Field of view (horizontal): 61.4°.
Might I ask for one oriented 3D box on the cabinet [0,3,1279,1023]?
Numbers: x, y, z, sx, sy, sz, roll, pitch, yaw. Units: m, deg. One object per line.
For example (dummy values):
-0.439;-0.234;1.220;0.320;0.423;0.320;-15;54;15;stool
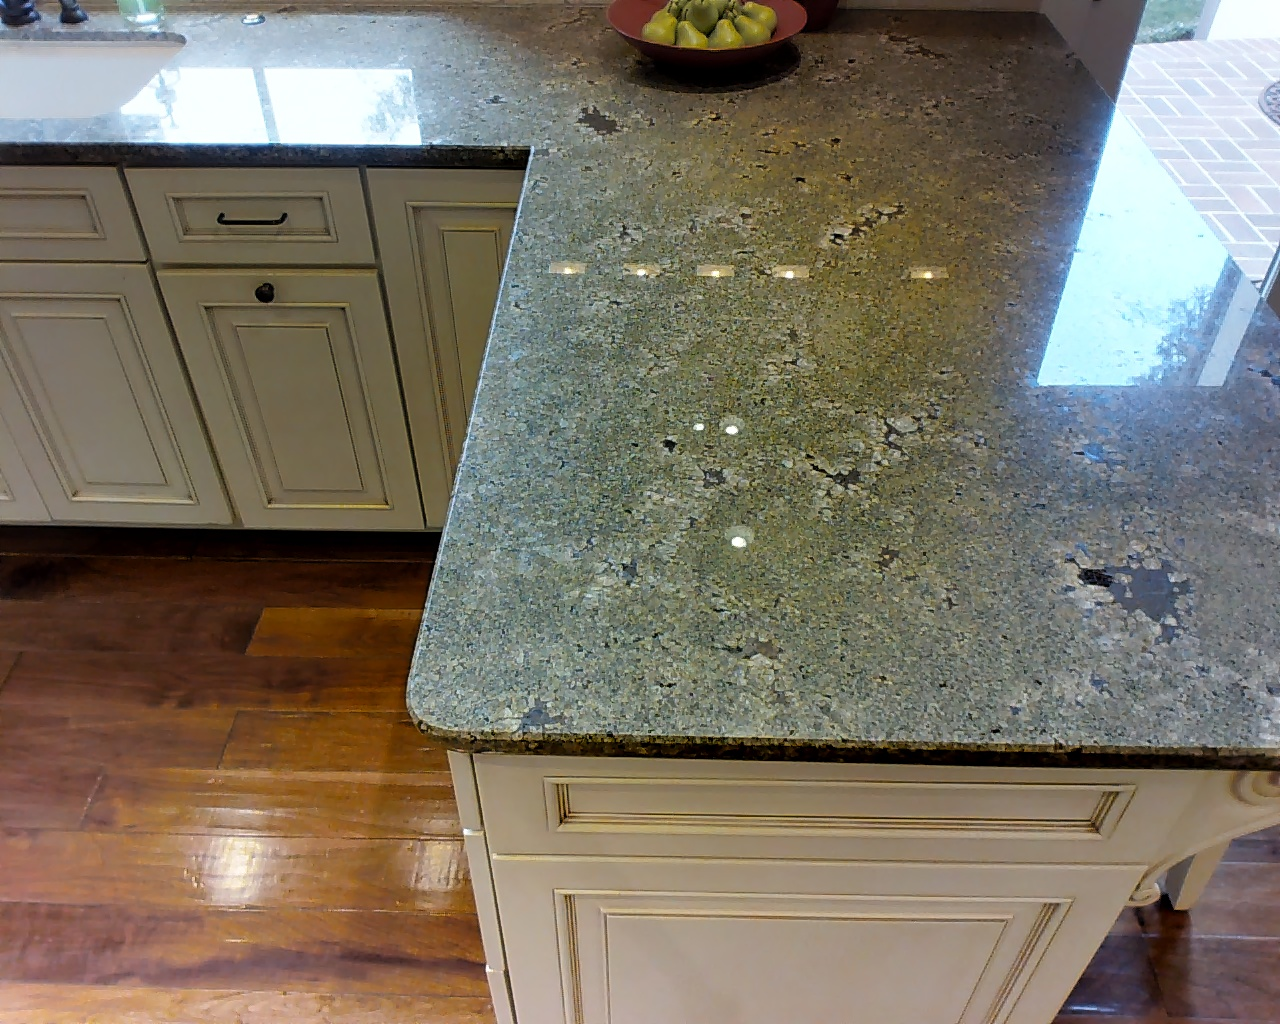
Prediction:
-1.050;-0.050;1.750;3.730;0.940;1.700;1;42;1;cabinet
